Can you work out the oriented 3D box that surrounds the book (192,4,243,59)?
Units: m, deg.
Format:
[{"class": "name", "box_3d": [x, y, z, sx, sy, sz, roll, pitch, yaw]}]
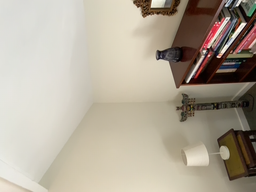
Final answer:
[{"class": "book", "box_3d": [0.520, -0.380, 1.270, 0.220, 0.150, 0.220, 101, 165, -59]}]
